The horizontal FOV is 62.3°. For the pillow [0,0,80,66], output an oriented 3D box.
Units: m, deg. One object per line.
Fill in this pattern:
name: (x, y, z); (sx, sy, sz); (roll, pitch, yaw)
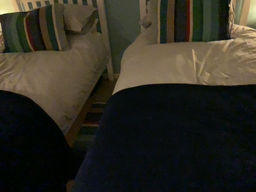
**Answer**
pillow: (-0.710, -0.560, 1.670); (0.540, 0.360, 0.180); (-35, 21, 29)
